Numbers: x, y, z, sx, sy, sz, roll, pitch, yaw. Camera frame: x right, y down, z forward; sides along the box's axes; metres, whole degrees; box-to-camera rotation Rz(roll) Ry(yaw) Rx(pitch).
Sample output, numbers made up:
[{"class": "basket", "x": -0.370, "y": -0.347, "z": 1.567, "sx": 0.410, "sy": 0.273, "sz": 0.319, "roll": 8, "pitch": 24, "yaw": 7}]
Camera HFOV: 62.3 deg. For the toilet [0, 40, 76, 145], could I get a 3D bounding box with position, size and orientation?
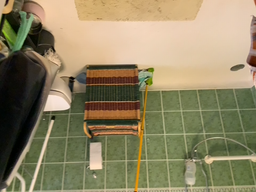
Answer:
[{"class": "toilet", "x": -0.820, "y": -0.020, "z": 1.760, "sx": 0.620, "sy": 0.770, "sz": 0.370, "roll": -2, "pitch": 158, "yaw": 1}]
